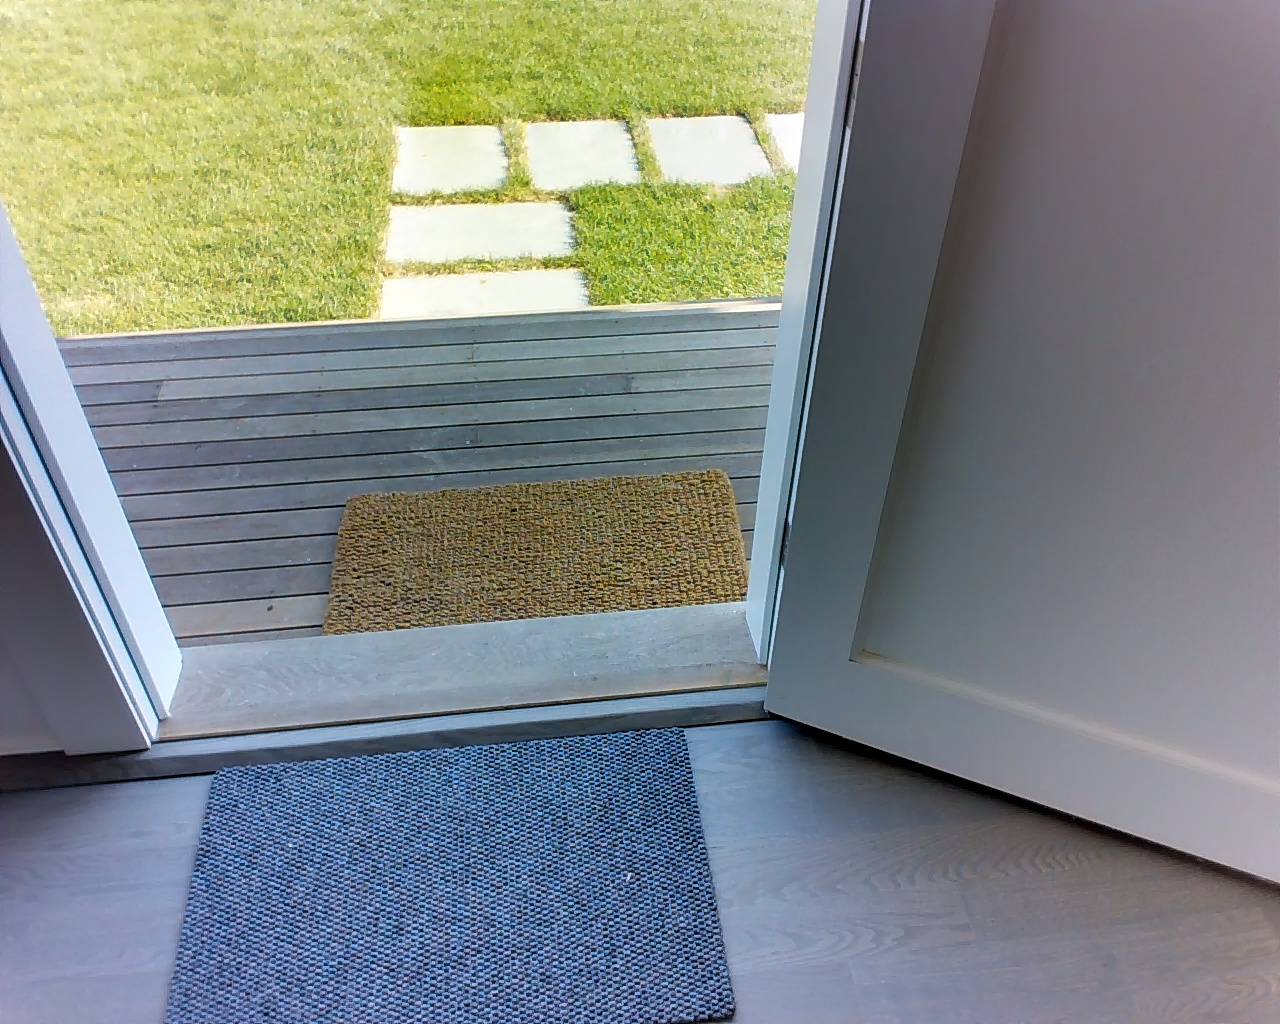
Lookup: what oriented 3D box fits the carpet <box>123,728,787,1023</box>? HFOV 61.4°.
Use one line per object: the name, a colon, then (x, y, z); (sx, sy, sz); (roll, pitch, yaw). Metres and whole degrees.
carpet: (-0.280, 0.610, 1.660); (0.930, 0.020, 0.570); (-4, 42, -5)
